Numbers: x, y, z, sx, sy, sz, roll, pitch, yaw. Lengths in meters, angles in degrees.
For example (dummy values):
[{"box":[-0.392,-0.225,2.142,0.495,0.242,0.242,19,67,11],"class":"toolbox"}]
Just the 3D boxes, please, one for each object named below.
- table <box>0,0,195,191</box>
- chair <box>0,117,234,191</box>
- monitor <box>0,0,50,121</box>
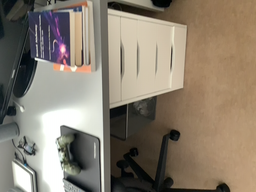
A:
[{"box":[-0.160,0.330,1.300,0.790,0.730,1.510,9,104,38],"class":"table"},{"box":[-0.020,0.630,1.050,0.690,1.030,0.700,11,105,38],"class":"chair"},{"box":[-0.630,-0.100,0.800,0.070,0.480,0.680,50,125,21],"class":"monitor"}]
